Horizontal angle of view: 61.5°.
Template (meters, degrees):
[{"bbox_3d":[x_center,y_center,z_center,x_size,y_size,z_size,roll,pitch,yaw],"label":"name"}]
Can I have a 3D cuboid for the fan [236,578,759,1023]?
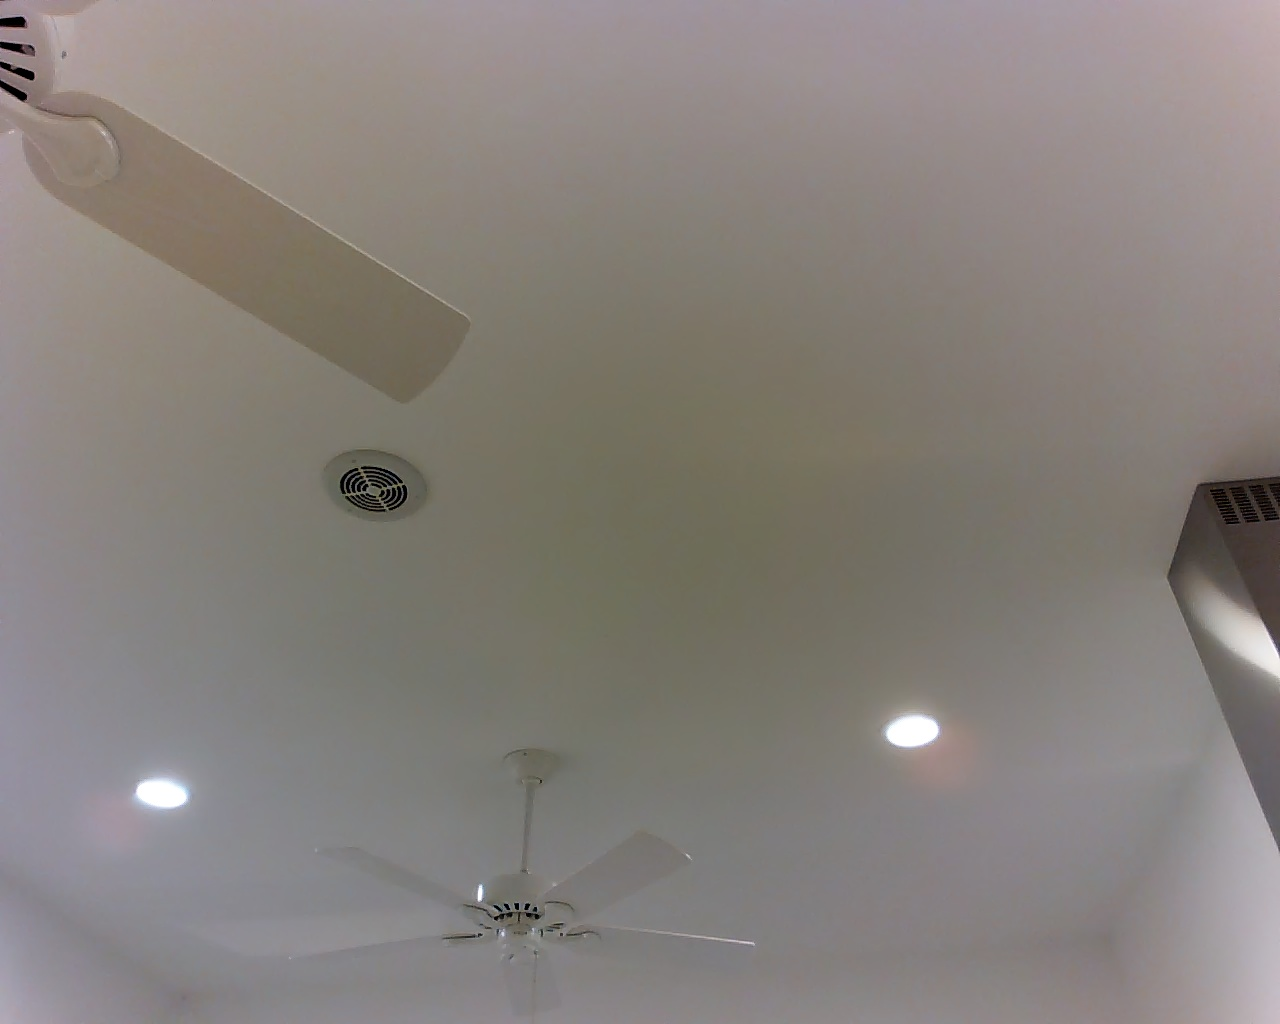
[{"bbox_3d":[-0.340,0.940,2.990,1.190,1.340,0.550,-6,3,7],"label":"fan"}]
